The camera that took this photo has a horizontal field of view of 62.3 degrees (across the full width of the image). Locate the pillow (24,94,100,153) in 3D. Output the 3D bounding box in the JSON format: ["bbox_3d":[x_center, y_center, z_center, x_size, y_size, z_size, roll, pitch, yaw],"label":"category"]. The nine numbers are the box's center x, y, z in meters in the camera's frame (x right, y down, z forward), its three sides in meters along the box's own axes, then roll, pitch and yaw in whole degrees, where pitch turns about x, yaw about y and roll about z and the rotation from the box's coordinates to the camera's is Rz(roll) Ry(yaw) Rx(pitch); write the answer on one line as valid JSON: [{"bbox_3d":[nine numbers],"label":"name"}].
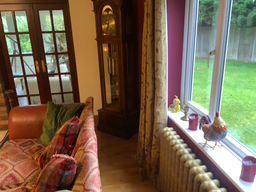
[{"bbox_3d":[-0.740,0.290,2.500,0.650,0.440,0.510,5,20,16],"label":"pillow"}]

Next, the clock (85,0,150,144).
[{"bbox_3d":[-0.140,-0.360,3.270,0.760,1.980,0.510,16,25,39],"label":"clock"}]

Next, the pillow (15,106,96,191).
[{"bbox_3d":[-0.610,0.440,1.900,0.520,0.390,0.770,-6,20,-14],"label":"pillow"}]

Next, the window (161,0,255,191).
[{"bbox_3d":[0.610,-0.230,1.270,0.270,1.390,1.530,-4,19,-10],"label":"window"}]

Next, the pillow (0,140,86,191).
[{"bbox_3d":[-0.540,0.600,1.400,0.490,0.360,0.450,-6,20,-14],"label":"pillow"}]
